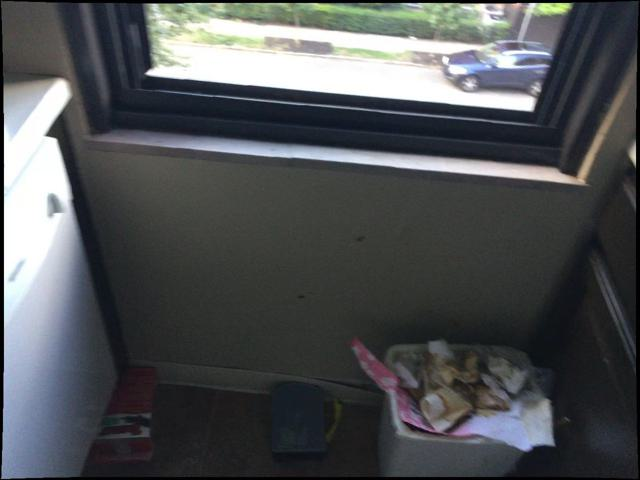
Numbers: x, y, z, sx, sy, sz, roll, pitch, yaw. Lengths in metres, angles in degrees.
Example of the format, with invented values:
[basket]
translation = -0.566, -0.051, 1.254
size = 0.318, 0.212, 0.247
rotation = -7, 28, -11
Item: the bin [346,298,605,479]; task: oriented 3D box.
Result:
[bin]
translation = 0.299, 0.381, 1.310
size = 0.439, 0.420, 0.270
rotation = 4, 47, -2
